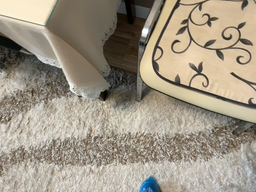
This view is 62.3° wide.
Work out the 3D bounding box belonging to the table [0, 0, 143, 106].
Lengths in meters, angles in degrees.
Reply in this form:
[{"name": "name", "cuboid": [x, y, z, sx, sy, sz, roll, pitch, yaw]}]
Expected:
[{"name": "table", "cuboid": [-0.480, -0.450, 0.930, 0.930, 0.760, 0.590, 17, 78, 10]}]
